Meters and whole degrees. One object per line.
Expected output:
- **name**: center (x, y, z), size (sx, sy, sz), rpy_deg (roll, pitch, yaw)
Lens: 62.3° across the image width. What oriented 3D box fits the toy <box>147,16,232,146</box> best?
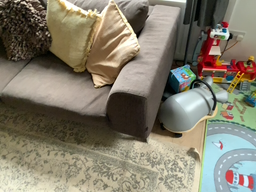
- **toy**: center (0.460, -0.140, 1.600), size (0.380, 0.490, 0.800), rpy_deg (16, 53, 15)
